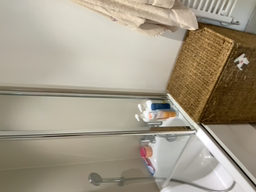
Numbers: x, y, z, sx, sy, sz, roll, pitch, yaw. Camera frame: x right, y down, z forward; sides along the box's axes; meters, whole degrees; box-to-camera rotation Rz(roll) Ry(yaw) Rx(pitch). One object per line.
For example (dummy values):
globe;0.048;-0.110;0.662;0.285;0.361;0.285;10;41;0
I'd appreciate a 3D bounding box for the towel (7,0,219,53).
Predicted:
towel;-0.040;-0.450;1.060;0.200;0.970;0.310;-119;38;-50

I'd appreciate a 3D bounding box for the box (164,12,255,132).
box;0.670;-0.140;1.410;0.410;0.570;0.610;-119;38;-51
